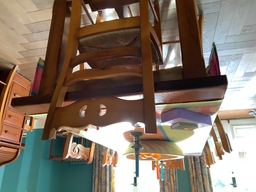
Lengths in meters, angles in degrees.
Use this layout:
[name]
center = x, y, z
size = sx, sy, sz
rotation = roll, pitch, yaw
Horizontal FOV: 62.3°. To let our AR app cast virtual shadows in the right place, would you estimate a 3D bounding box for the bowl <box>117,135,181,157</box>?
[bowl]
center = 0.190, 0.420, 1.730
size = 0.450, 0.110, 0.390
rotation = -6, 158, 15
